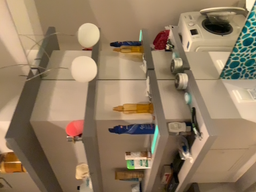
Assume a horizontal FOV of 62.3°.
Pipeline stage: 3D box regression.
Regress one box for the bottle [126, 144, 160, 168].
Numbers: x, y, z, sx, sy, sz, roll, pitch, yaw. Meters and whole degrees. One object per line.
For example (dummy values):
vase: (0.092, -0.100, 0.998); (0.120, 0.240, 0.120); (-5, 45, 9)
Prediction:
bottle: (0.070, 0.300, 1.060); (0.110, 0.150, 0.080); (95, 174, -52)
